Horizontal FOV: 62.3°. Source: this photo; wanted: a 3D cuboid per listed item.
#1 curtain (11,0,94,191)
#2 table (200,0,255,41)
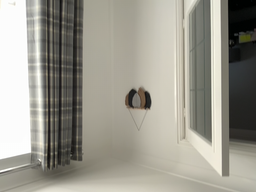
[{"bbox_3d":[-0.620,-0.420,1.810,0.350,2.220,0.550,0,-178,26],"label":"curtain"},{"bbox_3d":[1.630,-1.290,3.130,1.080,0.740,0.220,0,-178,41],"label":"table"}]
